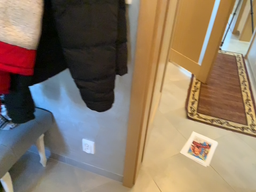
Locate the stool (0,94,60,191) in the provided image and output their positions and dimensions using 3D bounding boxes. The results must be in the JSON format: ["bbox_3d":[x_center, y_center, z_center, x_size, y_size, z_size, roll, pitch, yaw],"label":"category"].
[{"bbox_3d":[-0.920,0.280,1.290,0.820,0.470,0.430,14,36,13],"label":"stool"}]
